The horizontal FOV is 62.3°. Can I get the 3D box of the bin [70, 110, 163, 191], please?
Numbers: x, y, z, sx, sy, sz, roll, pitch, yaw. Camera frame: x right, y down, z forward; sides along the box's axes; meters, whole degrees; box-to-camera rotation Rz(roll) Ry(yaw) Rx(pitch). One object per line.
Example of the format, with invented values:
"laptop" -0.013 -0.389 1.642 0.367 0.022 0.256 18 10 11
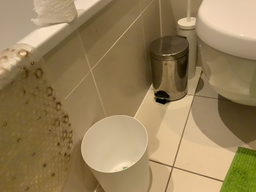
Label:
"bin" -0.010 0.240 0.710 0.170 0.260 0.250 11 46 24
